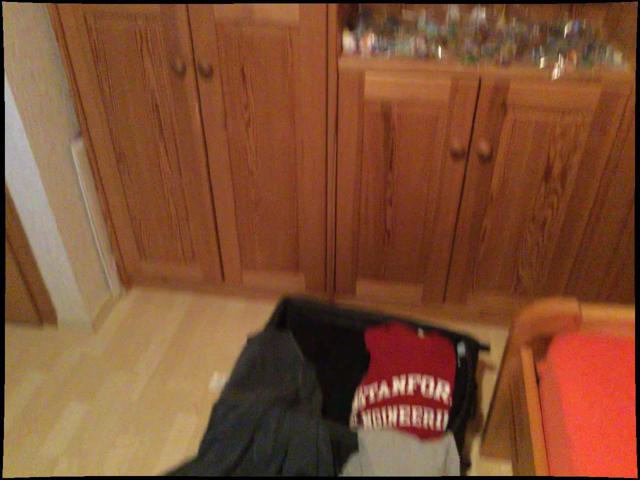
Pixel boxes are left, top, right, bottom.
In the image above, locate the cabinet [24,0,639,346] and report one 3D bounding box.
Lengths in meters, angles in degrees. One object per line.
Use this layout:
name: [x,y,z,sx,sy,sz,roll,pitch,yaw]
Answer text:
cabinet: [0.460,-0.300,1.660,2.388,1.271,0.300,4,38,8]
